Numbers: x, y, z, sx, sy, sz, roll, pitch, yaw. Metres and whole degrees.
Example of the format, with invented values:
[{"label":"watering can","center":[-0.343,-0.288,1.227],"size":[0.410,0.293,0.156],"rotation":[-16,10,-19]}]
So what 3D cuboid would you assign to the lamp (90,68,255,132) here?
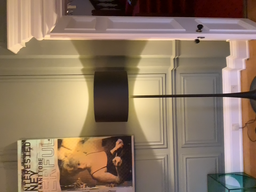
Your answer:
[{"label":"lamp","center":[0.560,0.010,2.190],"size":[0.580,1.830,0.550],"rotation":[-153,62,-84]}]
